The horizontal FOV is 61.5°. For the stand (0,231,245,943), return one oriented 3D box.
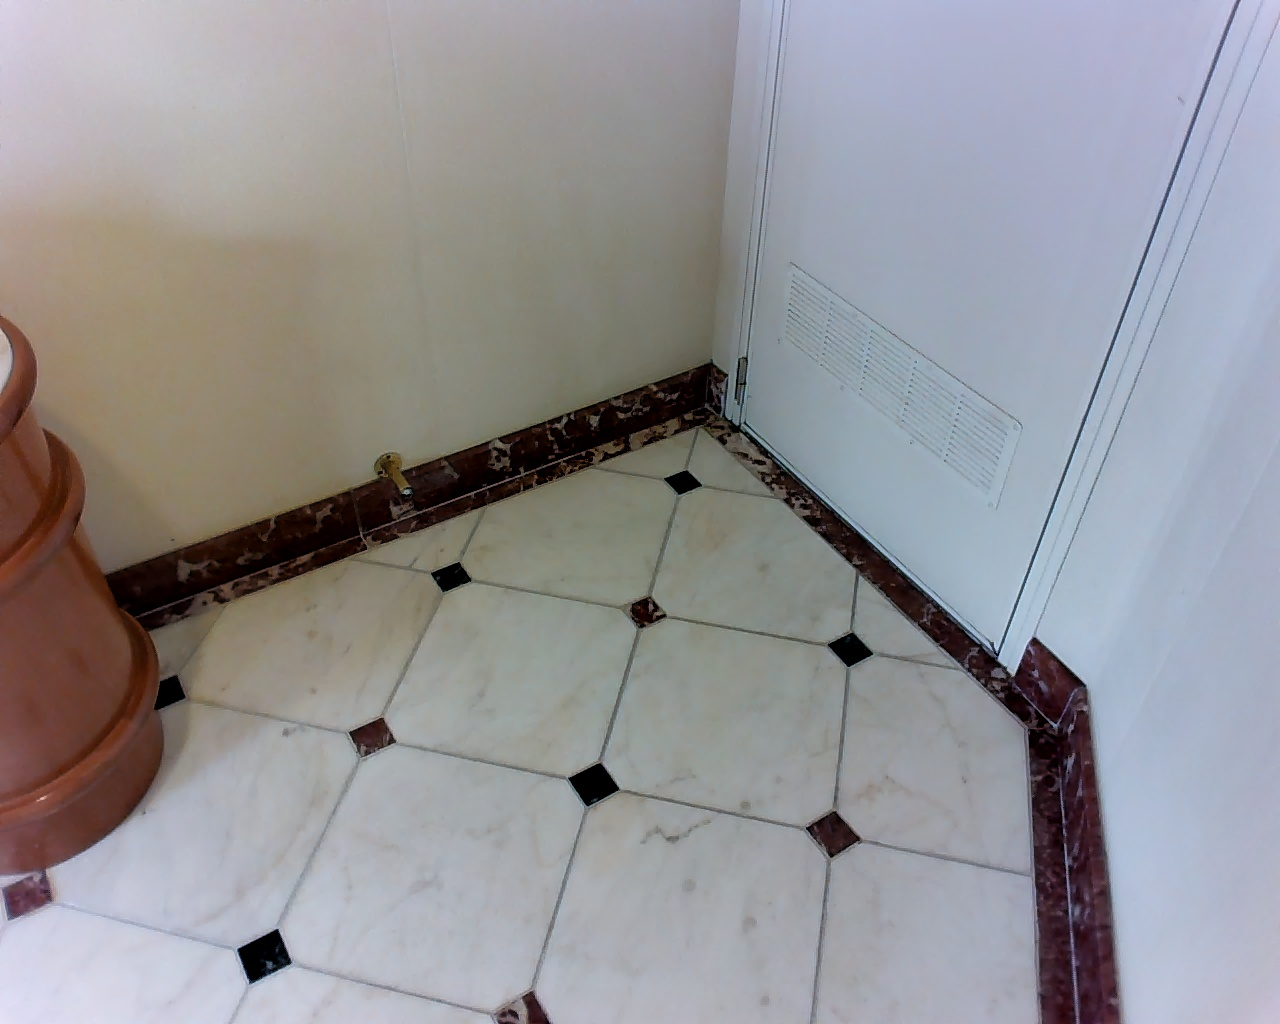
[{"bbox_3d":[-0.780,0.110,1.210,0.400,0.630,0.440,-22,47,-23],"label":"stand"}]
